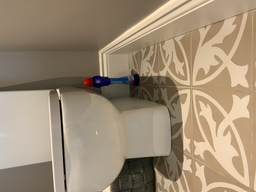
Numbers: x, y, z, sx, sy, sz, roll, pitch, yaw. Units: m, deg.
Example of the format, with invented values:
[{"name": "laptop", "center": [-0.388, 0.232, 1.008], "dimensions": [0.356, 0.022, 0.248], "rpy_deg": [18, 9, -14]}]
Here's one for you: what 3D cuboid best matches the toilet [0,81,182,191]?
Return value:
[{"name": "toilet", "center": [-0.290, 0.160, 0.860], "dimensions": [0.610, 0.780, 0.390], "rpy_deg": [-164, 70, -71]}]
